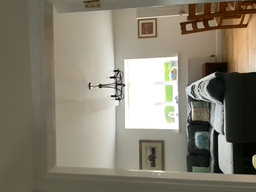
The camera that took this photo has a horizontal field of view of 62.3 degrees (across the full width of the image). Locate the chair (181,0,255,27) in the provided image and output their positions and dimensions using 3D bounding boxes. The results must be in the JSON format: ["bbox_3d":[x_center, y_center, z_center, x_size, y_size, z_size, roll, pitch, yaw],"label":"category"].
[{"bbox_3d":[1.260,-1.310,2.770,0.490,1.020,0.590,81,-168,-46],"label":"chair"}]
